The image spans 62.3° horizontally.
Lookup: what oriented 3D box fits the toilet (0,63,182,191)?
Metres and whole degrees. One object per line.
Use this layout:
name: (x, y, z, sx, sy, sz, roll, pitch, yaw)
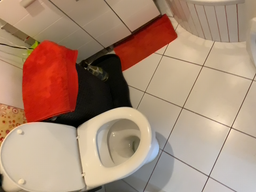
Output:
toilet: (-0.200, 0.290, 1.140, 0.710, 0.780, 0.360, -25, 63, 19)
